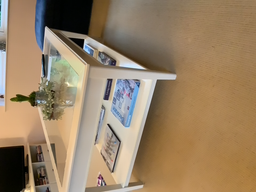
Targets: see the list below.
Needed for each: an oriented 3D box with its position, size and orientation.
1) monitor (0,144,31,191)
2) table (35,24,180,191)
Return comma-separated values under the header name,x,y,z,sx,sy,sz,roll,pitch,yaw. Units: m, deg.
name,x,y,z,sx,sy,sz,roll,pitch,yaw
monitor,-1.670,1.050,3.070,0.060,0.460,0.680,-49,48,46
table,-0.320,0.010,1.560,1.230,0.480,0.810,40,122,53
